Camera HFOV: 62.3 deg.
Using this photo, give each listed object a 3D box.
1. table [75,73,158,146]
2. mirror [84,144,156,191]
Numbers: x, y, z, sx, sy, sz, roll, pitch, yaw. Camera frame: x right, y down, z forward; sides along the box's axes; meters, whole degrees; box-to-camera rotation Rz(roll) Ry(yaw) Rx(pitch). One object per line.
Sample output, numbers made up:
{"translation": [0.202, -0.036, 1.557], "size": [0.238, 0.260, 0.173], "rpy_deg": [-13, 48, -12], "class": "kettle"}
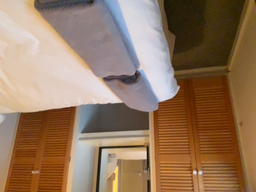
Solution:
{"translation": [-0.110, 0.210, 2.720], "size": [0.910, 0.770, 0.490], "rpy_deg": [-4, 158, 14], "class": "table"}
{"translation": [-0.100, 0.960, 2.600], "size": [0.860, 0.710, 0.090], "rpy_deg": [-3, 158, 11], "class": "mirror"}
